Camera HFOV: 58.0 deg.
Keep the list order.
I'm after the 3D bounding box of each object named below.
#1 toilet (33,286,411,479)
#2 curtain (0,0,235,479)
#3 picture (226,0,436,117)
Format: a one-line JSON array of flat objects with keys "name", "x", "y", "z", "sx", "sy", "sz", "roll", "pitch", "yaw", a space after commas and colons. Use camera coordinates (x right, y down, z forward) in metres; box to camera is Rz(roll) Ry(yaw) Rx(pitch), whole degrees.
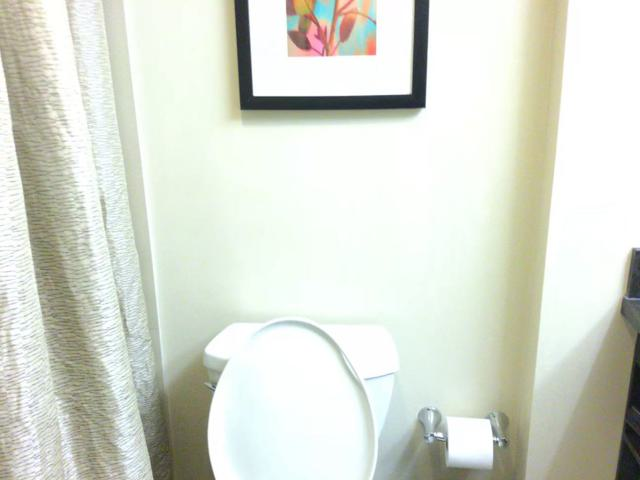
[{"name": "toilet", "x": -0.080, "y": 0.630, "z": 1.160, "sx": 0.480, "sy": 0.860, "sz": 0.750, "roll": 0, "pitch": 16, "yaw": 6}, {"name": "curtain", "x": -0.480, "y": 0.100, "z": 1.090, "sx": 0.380, "sy": 1.880, "sz": 0.710, "roll": 0, "pitch": 16, "yaw": 6}, {"name": "picture", "x": 0.020, "y": -0.530, "z": 1.190, "sx": 0.430, "sy": 0.530, "sz": 0.040, "roll": 0, "pitch": 16, "yaw": 7}]
